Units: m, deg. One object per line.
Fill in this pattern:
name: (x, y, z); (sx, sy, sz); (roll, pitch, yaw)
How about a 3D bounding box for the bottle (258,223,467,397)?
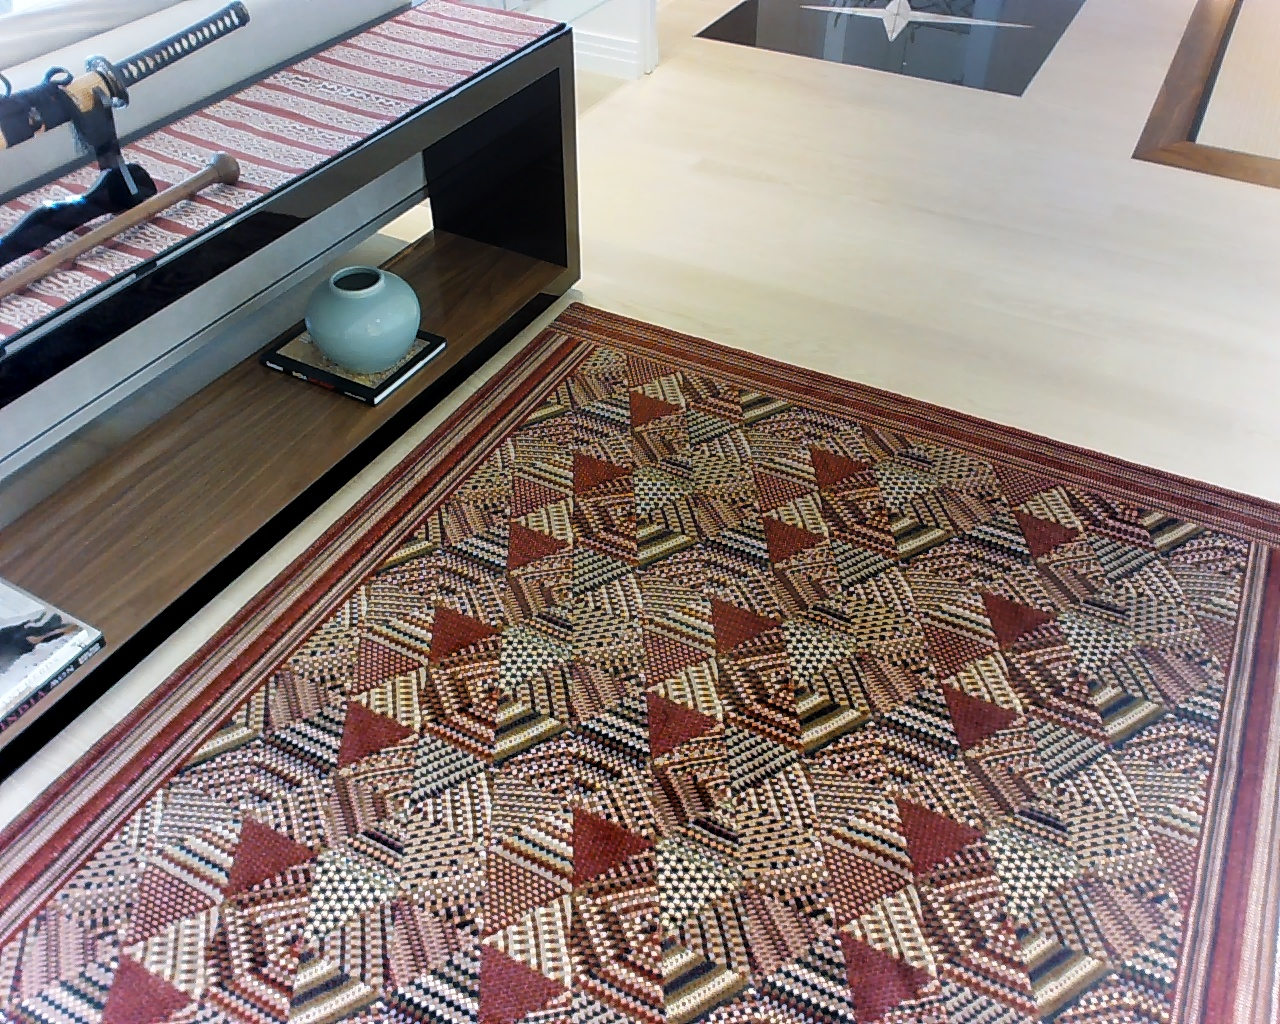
bottle: (-0.560, -0.420, 2.210); (0.290, 0.180, 0.260); (22, 47, 21)
